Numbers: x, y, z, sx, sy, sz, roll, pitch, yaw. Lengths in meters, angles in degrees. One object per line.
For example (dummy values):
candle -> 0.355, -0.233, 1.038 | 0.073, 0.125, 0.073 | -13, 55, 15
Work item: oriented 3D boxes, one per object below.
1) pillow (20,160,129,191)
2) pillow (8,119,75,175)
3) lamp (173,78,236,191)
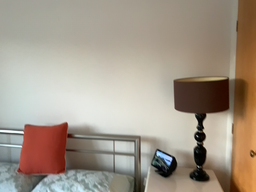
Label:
pillow -> -0.360, 0.680, 1.590 | 0.660, 0.170, 0.450 | 1, 5, 12
pillow -> -0.700, 0.420, 1.770 | 0.400, 0.420, 0.180 | 1, 27, 9
lamp -> 0.500, 0.240, 1.480 | 0.350, 0.720, 0.340 | 1, 5, 12
